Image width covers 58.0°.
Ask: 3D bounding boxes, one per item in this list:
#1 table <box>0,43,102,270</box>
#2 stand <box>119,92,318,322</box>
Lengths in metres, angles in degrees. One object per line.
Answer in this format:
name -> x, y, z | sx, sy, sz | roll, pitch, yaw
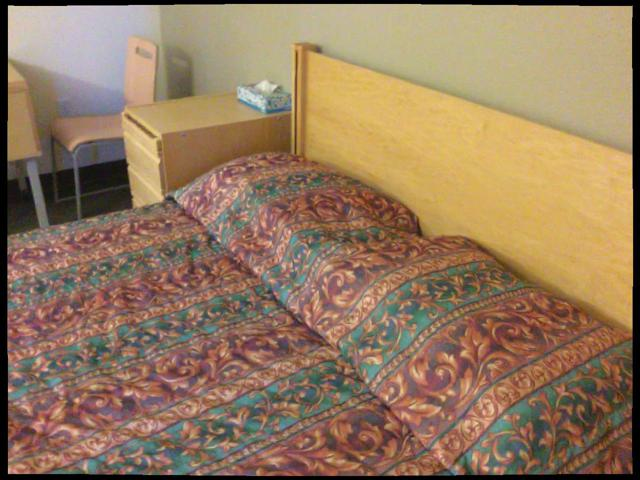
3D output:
table -> -1.747, -0.371, 2.660 | 1.079, 0.801, 0.860 | -18, 35, -31
stand -> -0.379, -0.160, 2.360 | 0.659, 0.731, 0.350 | -18, 32, -31
